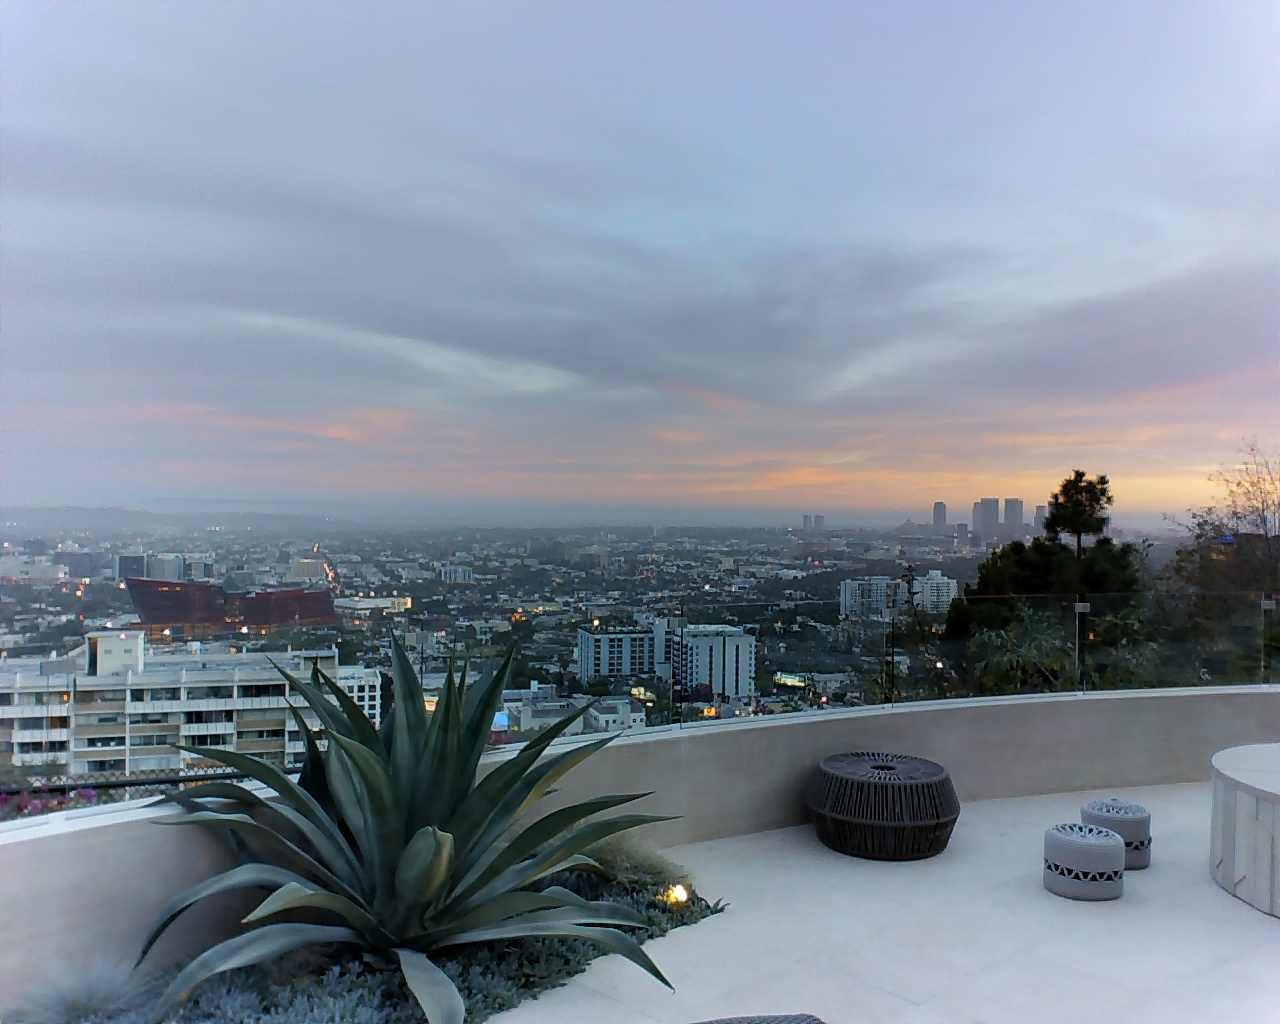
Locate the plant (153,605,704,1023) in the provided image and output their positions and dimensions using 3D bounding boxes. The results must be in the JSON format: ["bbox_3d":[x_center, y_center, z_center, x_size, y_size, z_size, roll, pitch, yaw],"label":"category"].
[{"bbox_3d":[-0.710,0.950,3.710,1.460,1.100,1.160,1,0,34],"label":"plant"}]
